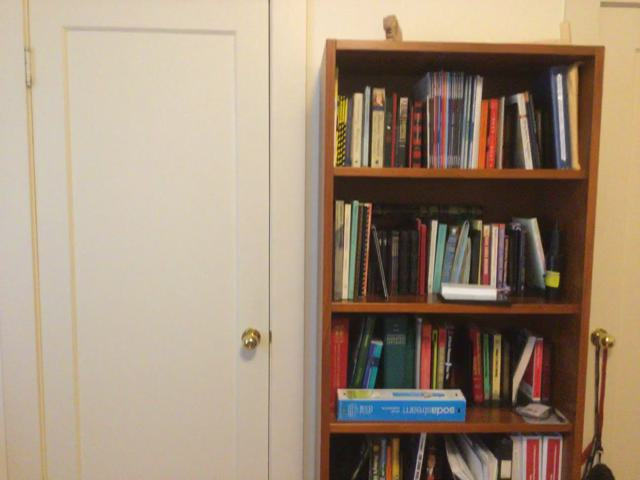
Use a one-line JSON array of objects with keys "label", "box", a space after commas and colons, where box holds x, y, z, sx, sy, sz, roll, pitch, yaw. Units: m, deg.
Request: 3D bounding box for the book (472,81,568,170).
[{"label": "book", "box": [0.570, -0.320, 1.670, 0.180, 0.220, 0.250, -3, 6, -2]}]

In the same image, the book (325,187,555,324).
[{"label": "book", "box": [0.340, 0.030, 1.750, 0.620, 0.350, 0.290, -3, 6, -2]}]

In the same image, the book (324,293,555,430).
[{"label": "book", "box": [0.360, 0.370, 1.820, 0.670, 0.330, 0.220, -3, 6, -2]}]

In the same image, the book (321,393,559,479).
[{"label": "book", "box": [0.350, 0.700, 1.800, 0.670, 0.310, 0.290, -3, 6, -2]}]

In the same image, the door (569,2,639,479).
[{"label": "door", "box": [1.260, 0.230, 1.950, 0.800, 1.990, 0.080, -3, 6, -2]}]

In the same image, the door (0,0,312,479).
[{"label": "door", "box": [-0.490, 0.210, 1.840, 0.870, 1.980, 0.090, -3, 6, -2]}]

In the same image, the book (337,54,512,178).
[{"label": "book", "box": [0.300, -0.360, 1.740, 0.470, 0.320, 0.230, -3, 6, -2]}]

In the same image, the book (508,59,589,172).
[{"label": "book", "box": [0.660, -0.350, 1.690, 0.120, 0.290, 0.270, -3, 6, -2]}]

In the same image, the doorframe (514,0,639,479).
[{"label": "doorframe", "box": [1.260, 0.140, 1.940, 1.180, 2.100, 0.060, -3, 6, -2]}]

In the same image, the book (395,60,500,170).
[{"label": "book", "box": [0.360, -0.350, 1.690, 0.220, 0.270, 0.310, -3, 6, -2]}]
